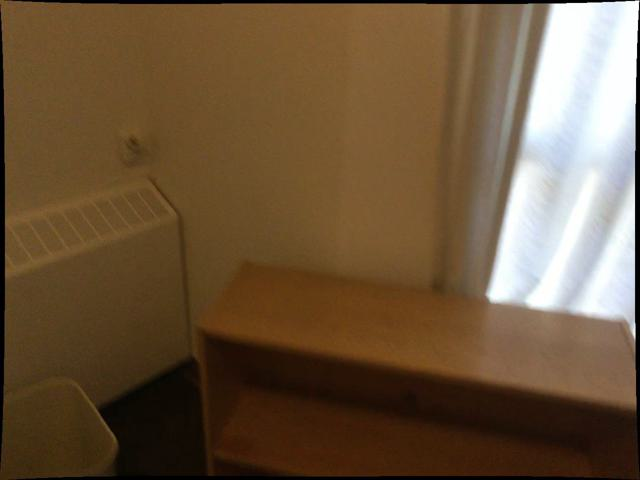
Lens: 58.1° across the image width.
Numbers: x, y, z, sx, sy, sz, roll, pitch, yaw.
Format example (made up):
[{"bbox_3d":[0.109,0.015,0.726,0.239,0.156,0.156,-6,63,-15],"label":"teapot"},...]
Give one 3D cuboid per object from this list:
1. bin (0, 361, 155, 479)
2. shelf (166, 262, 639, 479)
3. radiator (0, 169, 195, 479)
[{"bbox_3d":[-0.699,0.651,1.540,0.410,0.400,0.320,24,36,32],"label":"bin"},{"bbox_3d":[0.190,0.541,1.450,0.959,0.711,0.450,8,30,9],"label":"shelf"},{"bbox_3d":[-0.829,0.300,1.750,0.230,0.771,0.900,23,36,32],"label":"radiator"}]
